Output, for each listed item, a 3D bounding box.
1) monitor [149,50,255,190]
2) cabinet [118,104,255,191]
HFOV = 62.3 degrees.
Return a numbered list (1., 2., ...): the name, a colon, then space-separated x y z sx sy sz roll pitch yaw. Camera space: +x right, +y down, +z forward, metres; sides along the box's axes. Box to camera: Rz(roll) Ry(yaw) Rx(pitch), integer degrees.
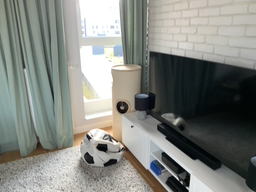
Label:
1. monitor: 0.520 0.060 1.760 0.060 0.740 1.240 -10 21 -23
2. cabinet: 0.470 0.620 1.980 0.410 0.470 1.880 -8 20 -24
